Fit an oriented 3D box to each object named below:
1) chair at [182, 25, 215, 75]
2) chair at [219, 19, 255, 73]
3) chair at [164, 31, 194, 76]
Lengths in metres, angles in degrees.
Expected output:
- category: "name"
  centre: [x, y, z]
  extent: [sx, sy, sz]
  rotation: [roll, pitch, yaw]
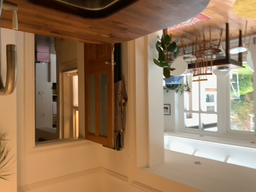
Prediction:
- category: "chair"
  centre: [1.430, -0.900, 4.300]
  extent: [0.500, 0.860, 0.440]
  rotation: [0, 179, -43]
- category: "chair"
  centre: [2.080, -0.910, 4.020]
  extent: [0.420, 0.860, 0.500]
  rotation: [0, 179, -43]
- category: "chair"
  centre: [1.120, -0.900, 4.640]
  extent: [0.500, 0.860, 0.440]
  rotation: [0, 179, -43]
